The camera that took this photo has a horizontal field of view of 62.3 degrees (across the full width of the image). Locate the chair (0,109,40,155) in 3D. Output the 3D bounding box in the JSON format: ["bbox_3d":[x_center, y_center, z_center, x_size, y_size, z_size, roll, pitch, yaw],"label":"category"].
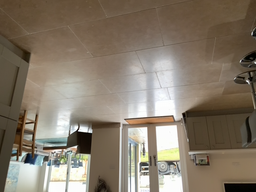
[{"bbox_3d":[-2.420,0.830,4.830,0.460,0.930,0.490,-4,158,12],"label":"chair"}]
